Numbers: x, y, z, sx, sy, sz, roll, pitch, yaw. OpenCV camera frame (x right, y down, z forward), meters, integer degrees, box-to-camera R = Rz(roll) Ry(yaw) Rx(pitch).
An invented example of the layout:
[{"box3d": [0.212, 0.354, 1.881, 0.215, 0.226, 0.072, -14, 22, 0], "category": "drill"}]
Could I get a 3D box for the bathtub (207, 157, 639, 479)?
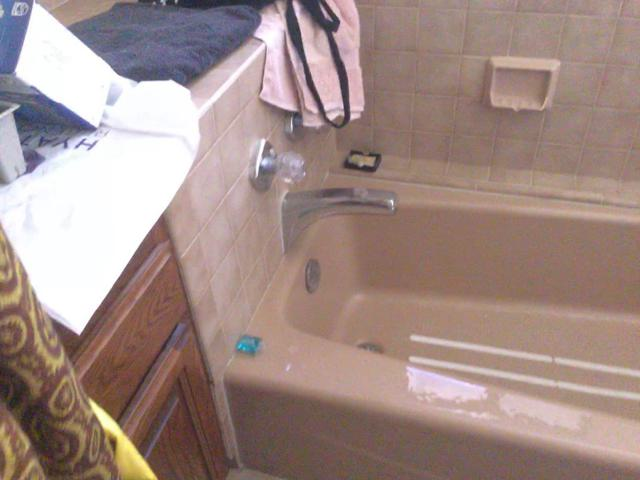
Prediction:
[{"box3d": [0.750, 0.250, 1.260, 1.730, 0.370, 0.840, 6, 39, 14], "category": "bathtub"}]
